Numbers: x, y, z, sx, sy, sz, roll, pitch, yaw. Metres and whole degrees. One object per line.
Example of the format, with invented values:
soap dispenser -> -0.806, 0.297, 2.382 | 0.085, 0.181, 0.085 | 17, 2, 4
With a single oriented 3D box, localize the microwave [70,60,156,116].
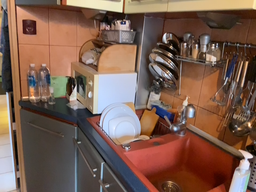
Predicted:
microwave -> -0.130, -0.090, 1.600 | 0.500, 0.290, 0.420 | -5, 20, -30

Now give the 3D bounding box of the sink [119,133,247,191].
sink -> 0.240, 0.390, 1.000 | 0.430, 0.220, 0.360 | -5, 20, -31
